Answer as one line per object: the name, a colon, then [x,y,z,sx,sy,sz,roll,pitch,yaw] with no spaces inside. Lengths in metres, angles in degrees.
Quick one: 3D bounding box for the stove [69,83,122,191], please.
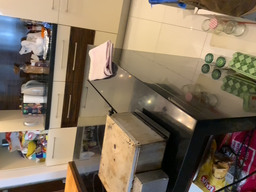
stove: [-0.220,0.290,1.180,0.520,0.040,0.580,41,125,53]
